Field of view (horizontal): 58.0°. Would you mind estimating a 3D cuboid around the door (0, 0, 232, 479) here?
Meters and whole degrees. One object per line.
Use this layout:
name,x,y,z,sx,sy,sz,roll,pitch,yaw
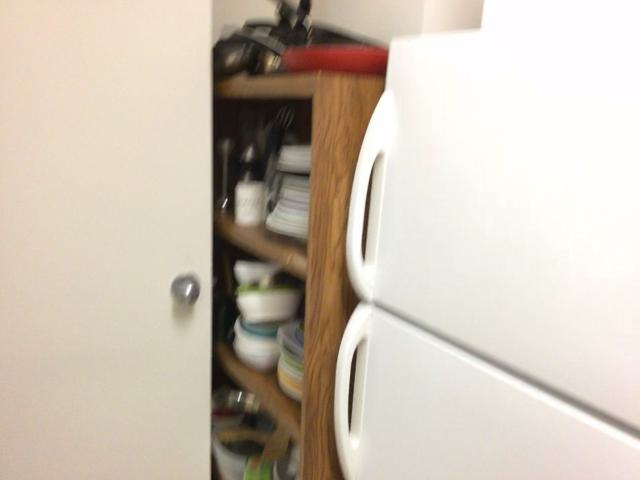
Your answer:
door,-0.710,0.030,1.350,0.990,2.140,0.120,-3,12,-19
